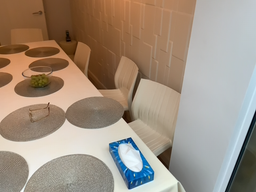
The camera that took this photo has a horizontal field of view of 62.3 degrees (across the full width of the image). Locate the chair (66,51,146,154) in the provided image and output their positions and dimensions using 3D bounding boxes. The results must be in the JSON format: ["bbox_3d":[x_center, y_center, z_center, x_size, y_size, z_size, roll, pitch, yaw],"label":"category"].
[{"bbox_3d":[-0.220,0.040,2.120,0.570,0.780,0.490,-14,34,-25],"label":"chair"}]

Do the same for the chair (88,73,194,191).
[{"bbox_3d":[0.090,0.330,1.640,0.570,0.780,0.460,-26,40,-38],"label":"chair"}]
